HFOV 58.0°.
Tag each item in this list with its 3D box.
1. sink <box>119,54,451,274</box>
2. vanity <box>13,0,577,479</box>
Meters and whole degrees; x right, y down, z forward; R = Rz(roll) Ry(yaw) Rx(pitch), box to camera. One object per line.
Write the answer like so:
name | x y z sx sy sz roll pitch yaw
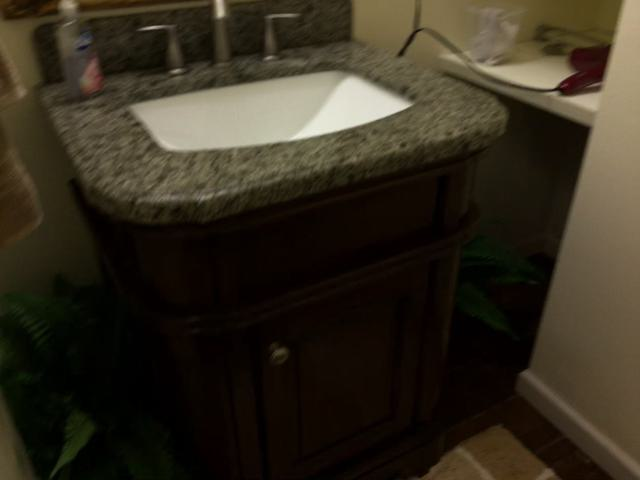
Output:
sink | -0.070 -0.170 1.050 0.470 0.190 0.340 -16 37 -25
vanity | -0.080 0.070 1.210 0.720 1.020 0.580 -16 37 -25
